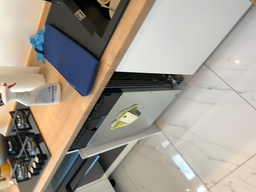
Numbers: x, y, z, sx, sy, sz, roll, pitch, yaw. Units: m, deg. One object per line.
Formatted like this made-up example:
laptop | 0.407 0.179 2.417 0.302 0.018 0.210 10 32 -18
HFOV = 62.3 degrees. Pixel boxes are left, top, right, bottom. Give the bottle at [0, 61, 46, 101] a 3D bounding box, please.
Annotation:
bottle | -0.590 -0.080 1.080 0.160 0.260 0.120 52 125 27
